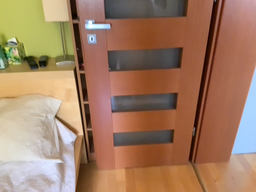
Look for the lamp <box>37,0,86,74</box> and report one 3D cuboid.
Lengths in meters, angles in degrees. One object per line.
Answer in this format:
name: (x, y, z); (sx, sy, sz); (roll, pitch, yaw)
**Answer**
lamp: (-0.420, -0.470, 1.370); (0.220, 0.630, 0.160); (-2, 29, -3)
